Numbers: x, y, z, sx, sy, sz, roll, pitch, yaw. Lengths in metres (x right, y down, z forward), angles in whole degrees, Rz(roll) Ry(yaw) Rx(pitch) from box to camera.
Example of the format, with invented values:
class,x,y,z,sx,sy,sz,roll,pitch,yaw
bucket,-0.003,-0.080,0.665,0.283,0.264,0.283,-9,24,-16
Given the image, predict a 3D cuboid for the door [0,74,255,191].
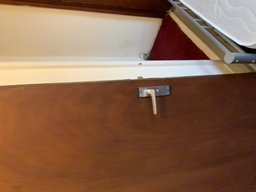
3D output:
class,x,y,z,sx,sy,sz,roll,pitch,yaw
door,0.100,0.300,0.870,0.020,1.940,0.730,-3,92,64
